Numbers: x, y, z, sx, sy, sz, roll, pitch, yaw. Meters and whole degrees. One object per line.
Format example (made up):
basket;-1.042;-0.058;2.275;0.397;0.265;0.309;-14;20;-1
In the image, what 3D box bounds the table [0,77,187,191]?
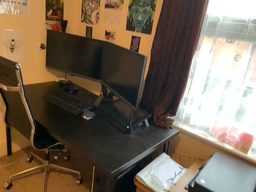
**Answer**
table;-0.410;0.410;1.960;1.480;0.720;0.910;22;24;35
